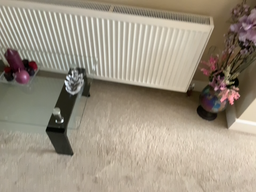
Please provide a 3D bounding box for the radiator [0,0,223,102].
[{"bbox_3d":[-0.410,-0.360,1.560,1.900,0.690,0.140,9,53,3],"label":"radiator"}]
